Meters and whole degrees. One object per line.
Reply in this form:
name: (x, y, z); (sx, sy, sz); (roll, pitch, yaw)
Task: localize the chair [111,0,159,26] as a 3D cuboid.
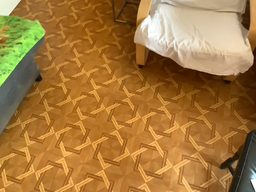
chair: (0.070, -0.860, 1.790); (0.340, 0.350, 0.320); (12, 60, 10)

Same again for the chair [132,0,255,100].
chair: (0.470, -0.650, 1.310); (0.680, 0.890, 0.920); (11, 60, 9)
